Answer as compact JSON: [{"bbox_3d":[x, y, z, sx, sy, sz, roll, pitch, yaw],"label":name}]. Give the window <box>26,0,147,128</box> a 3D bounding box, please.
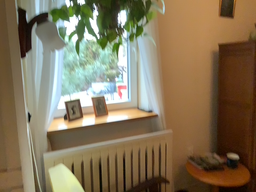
[{"bbox_3d":[-0.310,-0.370,1.810,0.950,1.140,0.220,-5,10,-24],"label":"window"}]
